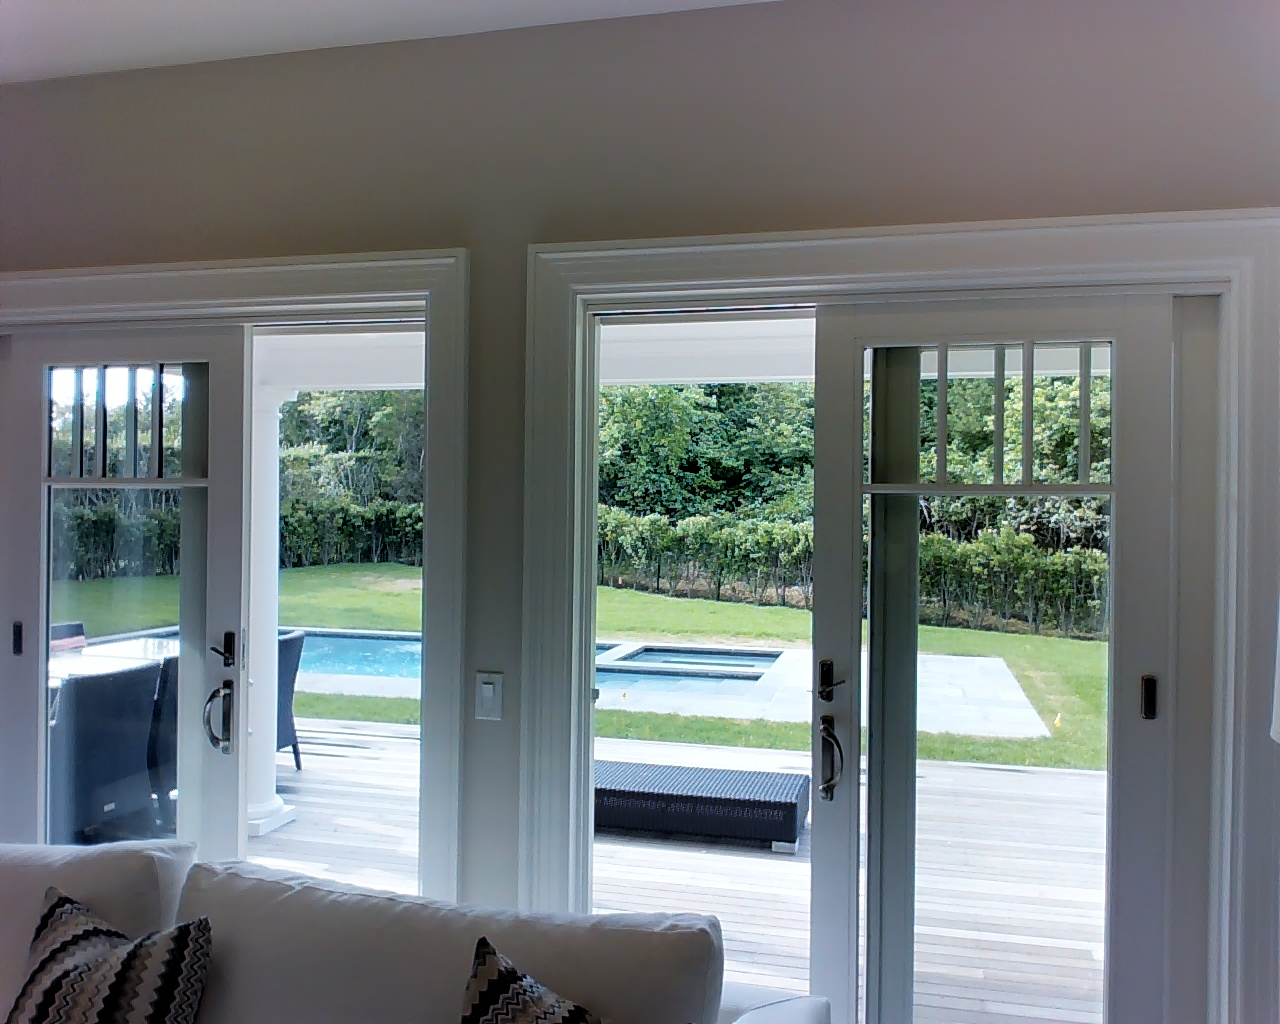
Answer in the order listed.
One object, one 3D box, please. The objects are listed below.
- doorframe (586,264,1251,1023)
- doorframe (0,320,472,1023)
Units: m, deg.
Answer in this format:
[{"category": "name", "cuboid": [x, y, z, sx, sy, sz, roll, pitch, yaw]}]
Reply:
[{"category": "doorframe", "cuboid": [0.600, 0.520, 2.540, 1.440, 2.090, 0.220, 1, 0, 15]}, {"category": "doorframe", "cuboid": [-1.200, 0.440, 3.010, 1.450, 1.860, 0.240, 1, 0, 15]}]
